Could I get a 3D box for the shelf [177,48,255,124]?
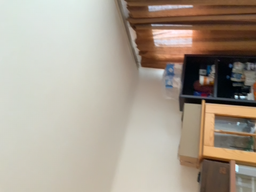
[{"bbox_3d":[1.430,-0.040,1.640,0.360,1.990,0.500,66,-147,-58],"label":"shelf"}]
